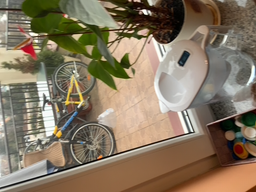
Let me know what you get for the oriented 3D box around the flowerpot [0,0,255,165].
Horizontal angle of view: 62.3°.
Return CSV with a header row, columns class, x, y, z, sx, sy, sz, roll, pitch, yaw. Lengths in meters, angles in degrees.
class,x,y,z,sx,sy,sz,roll,pitch,yaw
flowerpot,-0.140,-0.220,0.670,0.530,0.870,0.660,-39,64,53
